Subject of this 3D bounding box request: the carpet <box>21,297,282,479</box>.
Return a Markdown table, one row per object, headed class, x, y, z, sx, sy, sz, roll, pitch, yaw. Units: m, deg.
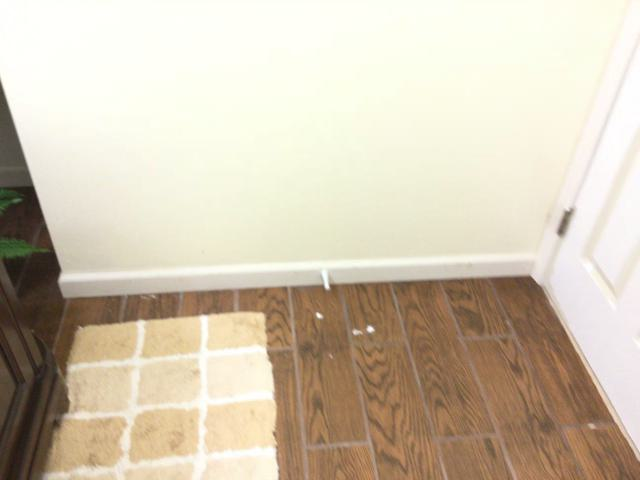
| class | x | y | z | sx | sy | sz | roll | pitch | yaw |
| --- | --- | --- | --- | --- | --- | --- | --- | --- | --- |
| carpet | -0.370 | 0.450 | 1.350 | 0.540 | 0.080 | 0.790 | -2 | 39 | -7 |
